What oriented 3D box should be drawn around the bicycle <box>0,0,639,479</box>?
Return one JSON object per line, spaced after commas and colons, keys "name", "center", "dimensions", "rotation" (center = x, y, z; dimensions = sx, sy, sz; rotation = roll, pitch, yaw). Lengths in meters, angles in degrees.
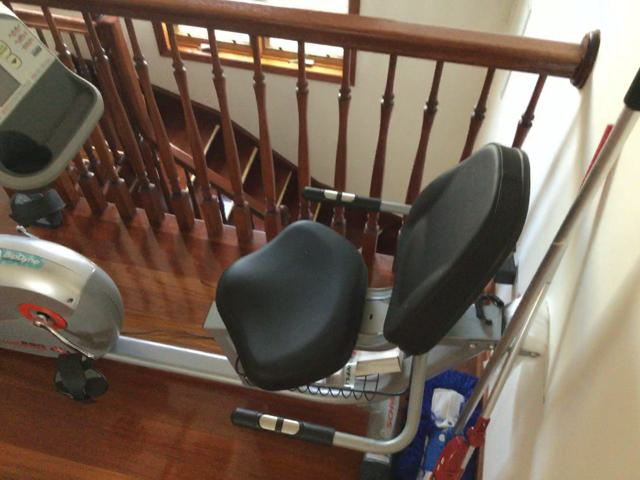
{"name": "bicycle", "center": [-0.400, -0.010, 1.300], "dimensions": [1.680, 1.230, 0.730], "rotation": [10, 44, 5]}
